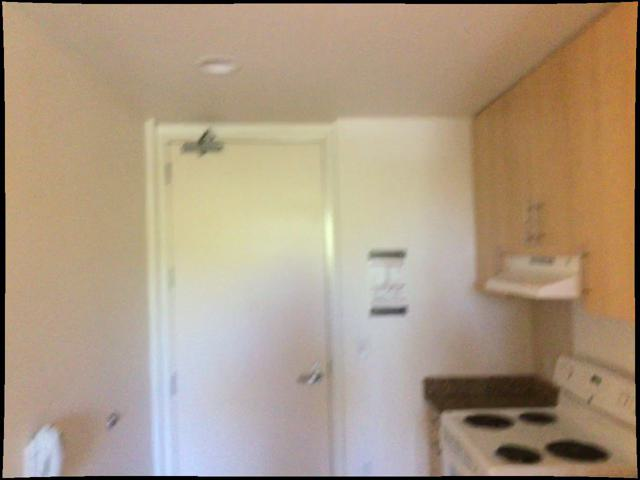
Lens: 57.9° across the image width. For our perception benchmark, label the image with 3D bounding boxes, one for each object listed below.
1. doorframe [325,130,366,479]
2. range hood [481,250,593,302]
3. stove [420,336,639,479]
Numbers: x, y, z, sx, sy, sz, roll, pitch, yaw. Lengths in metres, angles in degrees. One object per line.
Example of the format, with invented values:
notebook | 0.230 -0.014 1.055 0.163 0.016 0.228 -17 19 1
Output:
doorframe | 0.140 0.541 3.210 0.180 2.232 0.370 -1 2 -2
range hood | 0.849 0.130 2.350 0.170 0.140 0.690 -1 2 -2
stove | 0.869 1.071 2.390 0.709 1.141 0.970 -1 2 -2
